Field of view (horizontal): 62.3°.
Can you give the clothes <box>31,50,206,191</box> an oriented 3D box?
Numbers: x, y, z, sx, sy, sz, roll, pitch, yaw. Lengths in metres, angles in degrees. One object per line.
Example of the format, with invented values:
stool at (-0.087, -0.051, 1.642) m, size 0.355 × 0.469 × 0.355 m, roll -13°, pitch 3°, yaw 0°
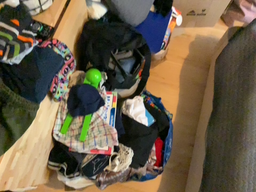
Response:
clothes at (-0.020, 0.200, 1.150) m, size 0.620 × 0.480 × 0.570 m, roll 16°, pitch 71°, yaw 4°
